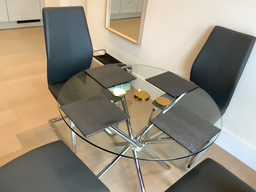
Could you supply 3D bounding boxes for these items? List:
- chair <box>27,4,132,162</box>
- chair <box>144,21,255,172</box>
[{"bbox_3d":[-0.390,-0.110,1.680,0.450,1.030,0.570,-21,43,-37],"label":"chair"},{"bbox_3d":[0.570,0.000,1.730,0.560,1.030,0.450,-22,44,-38],"label":"chair"}]
